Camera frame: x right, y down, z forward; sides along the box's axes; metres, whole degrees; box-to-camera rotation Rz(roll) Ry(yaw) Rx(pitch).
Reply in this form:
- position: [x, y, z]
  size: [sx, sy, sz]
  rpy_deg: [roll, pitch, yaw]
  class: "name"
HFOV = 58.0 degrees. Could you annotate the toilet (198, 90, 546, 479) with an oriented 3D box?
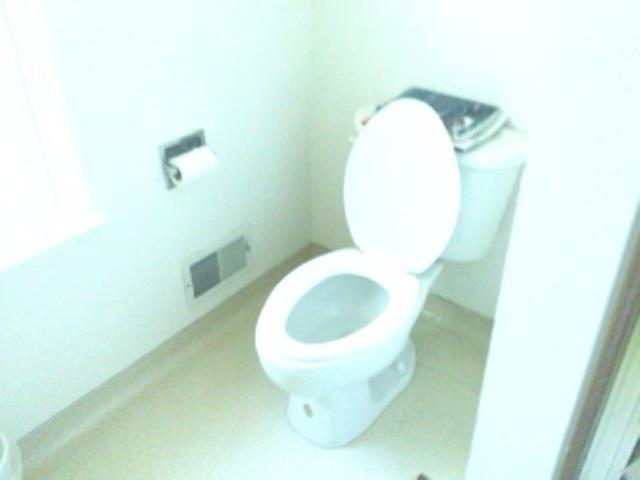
- position: [0.170, 0.120, 1.550]
  size: [0.460, 0.770, 0.750]
  rpy_deg: [22, 41, 33]
  class: "toilet"
